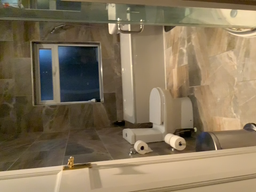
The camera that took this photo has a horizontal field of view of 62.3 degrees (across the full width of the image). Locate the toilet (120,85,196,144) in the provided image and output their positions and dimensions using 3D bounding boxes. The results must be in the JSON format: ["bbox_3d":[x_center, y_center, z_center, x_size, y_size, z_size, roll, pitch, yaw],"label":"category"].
[{"bbox_3d":[0.340,0.190,2.530,0.400,0.790,0.610,180,88,-76],"label":"toilet"}]

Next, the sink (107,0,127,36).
[{"bbox_3d":[-0.160,-1.070,2.760,0.510,0.150,0.420,175,92,-76],"label":"sink"}]
